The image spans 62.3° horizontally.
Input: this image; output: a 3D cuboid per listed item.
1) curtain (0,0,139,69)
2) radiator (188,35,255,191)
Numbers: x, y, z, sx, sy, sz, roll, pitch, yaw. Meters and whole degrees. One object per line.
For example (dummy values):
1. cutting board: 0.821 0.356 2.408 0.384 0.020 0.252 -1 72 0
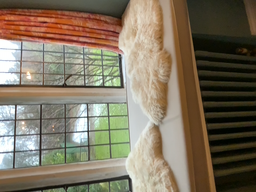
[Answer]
1. curtain: -0.590 -0.530 1.990 0.450 1.270 0.340 135 132 -63
2. radiator: 0.740 0.090 1.330 0.130 0.600 0.920 142 125 -65
